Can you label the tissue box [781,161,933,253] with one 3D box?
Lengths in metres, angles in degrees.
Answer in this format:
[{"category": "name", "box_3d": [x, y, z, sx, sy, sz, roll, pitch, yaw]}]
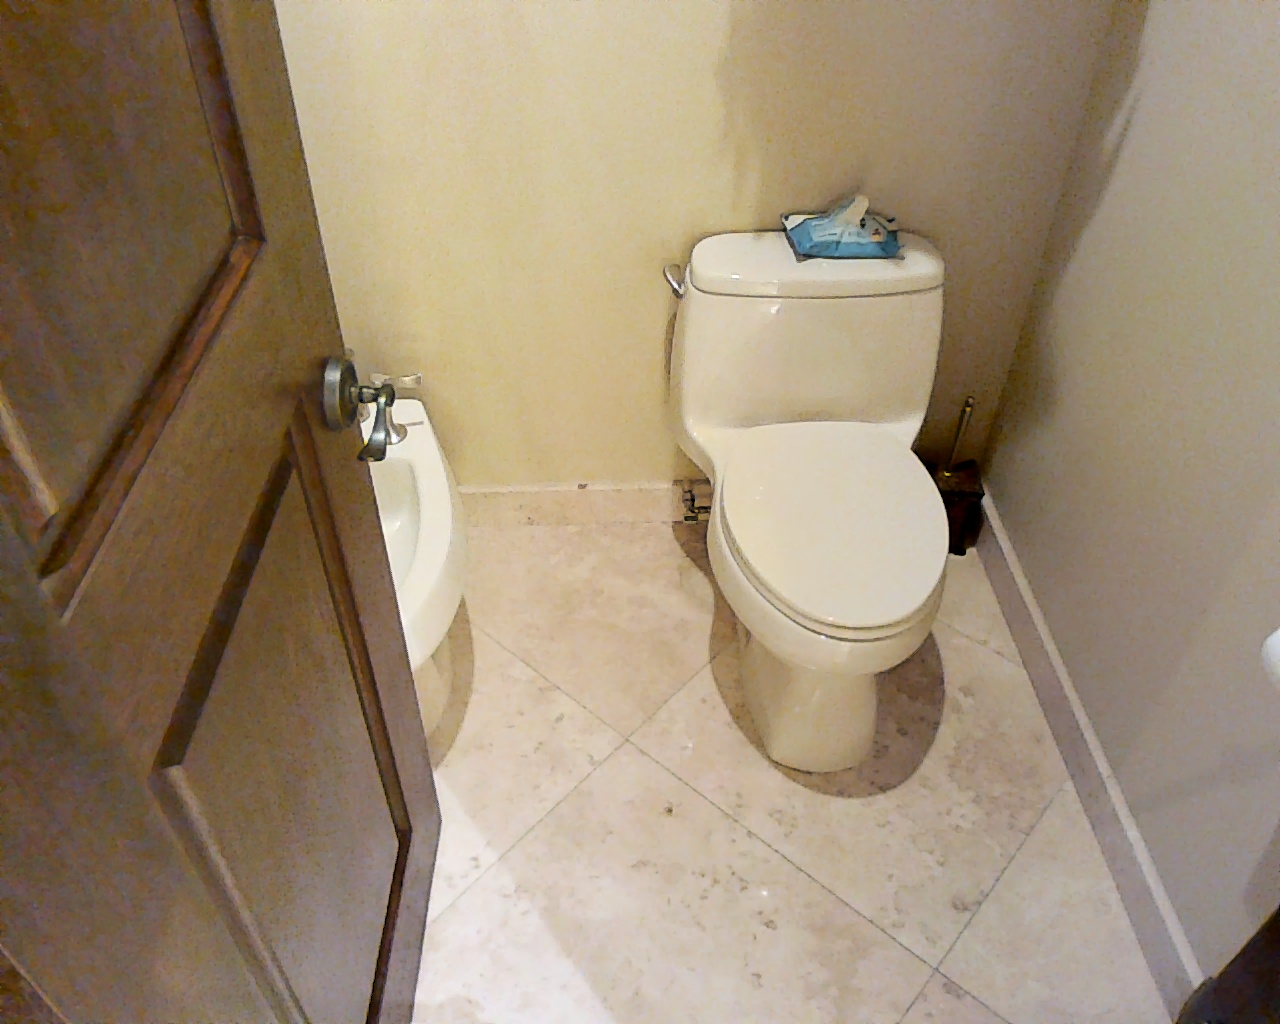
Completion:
[{"category": "tissue box", "box_3d": [0.350, -0.500, 1.750, 0.210, 0.090, 0.130, -3, 43, -3]}]
